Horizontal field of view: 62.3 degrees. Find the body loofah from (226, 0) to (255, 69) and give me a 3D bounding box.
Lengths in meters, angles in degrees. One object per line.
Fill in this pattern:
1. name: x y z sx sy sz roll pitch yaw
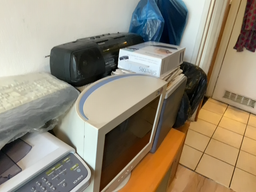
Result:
1. body loofah: 1.500 -0.960 2.510 0.260 1.260 0.110 26 34 32
